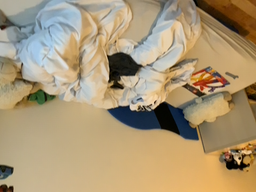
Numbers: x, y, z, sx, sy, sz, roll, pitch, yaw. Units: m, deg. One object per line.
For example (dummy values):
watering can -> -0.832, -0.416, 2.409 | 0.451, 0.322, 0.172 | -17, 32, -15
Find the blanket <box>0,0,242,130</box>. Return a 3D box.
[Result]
blanket -> -0.160, -0.110, 1.050 | 1.310, 0.230, 0.710 | 12, 148, -32
